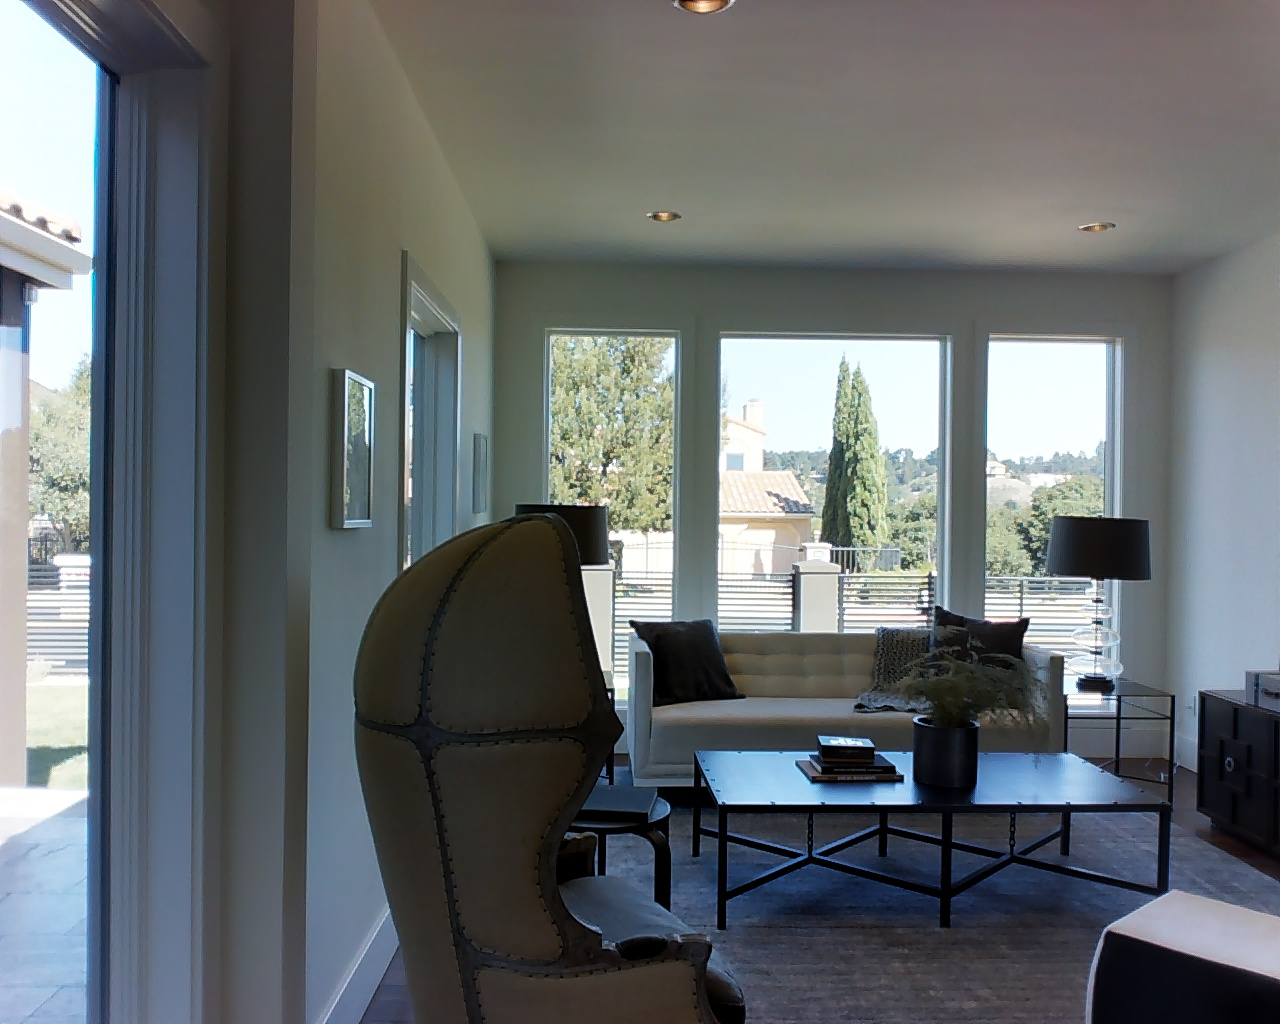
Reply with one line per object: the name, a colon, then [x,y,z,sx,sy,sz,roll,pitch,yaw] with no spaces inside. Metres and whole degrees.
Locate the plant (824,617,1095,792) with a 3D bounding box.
plant: [1.280,0.770,4.440,0.900,0.590,0.660,1,1,-2]

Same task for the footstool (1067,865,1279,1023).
footstool: [1.530,1.290,2.790,0.600,0.460,0.600,2,1,44]
